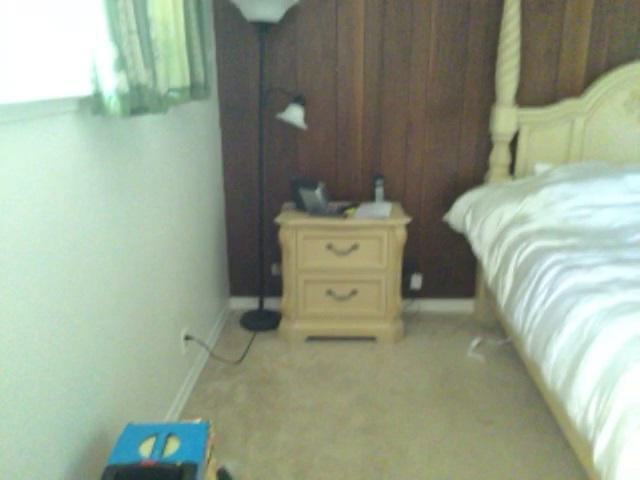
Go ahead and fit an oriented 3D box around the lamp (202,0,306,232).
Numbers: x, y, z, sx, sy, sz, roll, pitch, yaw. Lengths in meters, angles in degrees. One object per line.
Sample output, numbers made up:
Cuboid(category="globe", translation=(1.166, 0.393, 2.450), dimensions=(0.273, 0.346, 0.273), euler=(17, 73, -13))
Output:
Cuboid(category="lamp", translation=(-0.330, -0.650, 3.120), dimensions=(0.410, 1.160, 0.270), euler=(-3, 17, 3))
